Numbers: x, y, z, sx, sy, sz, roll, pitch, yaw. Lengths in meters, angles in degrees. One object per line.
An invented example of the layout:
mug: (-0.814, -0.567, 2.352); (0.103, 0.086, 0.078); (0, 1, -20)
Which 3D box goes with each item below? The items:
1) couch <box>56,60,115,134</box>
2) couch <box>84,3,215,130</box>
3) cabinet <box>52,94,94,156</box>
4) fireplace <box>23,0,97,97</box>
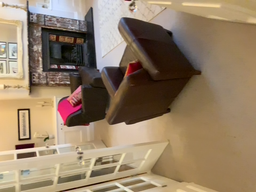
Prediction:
couch: (-0.840, -0.030, 3.910); (0.950, 0.740, 1.030); (36, 123, 55)
couch: (0.120, -0.280, 2.160); (0.770, 0.810, 0.880); (-62, 41, 42)
cabinet: (-1.210, 0.590, 4.620); (0.370, 0.750, 1.230); (-14, 79, 60)
fireplace: (-1.430, -0.950, 4.400); (0.750, 1.250, 1.840); (-15, 78, 60)
